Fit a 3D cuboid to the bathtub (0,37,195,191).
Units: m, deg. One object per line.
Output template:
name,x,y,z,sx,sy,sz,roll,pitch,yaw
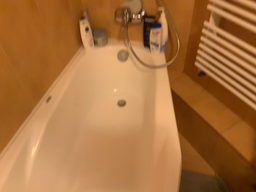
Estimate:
bathtub,-0.110,0.320,1.240,0.790,0.550,1.470,9,47,13
